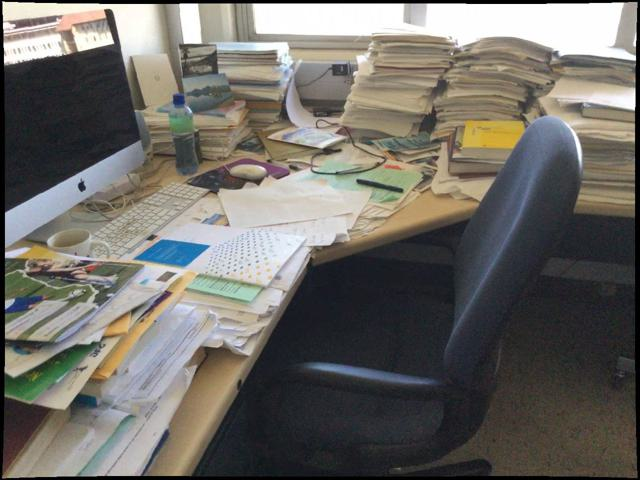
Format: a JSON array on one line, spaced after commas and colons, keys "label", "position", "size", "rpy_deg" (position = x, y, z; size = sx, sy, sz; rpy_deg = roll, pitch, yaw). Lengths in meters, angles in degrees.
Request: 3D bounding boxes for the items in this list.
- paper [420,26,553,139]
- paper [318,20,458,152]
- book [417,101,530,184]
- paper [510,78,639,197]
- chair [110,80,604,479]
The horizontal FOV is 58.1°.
[{"label": "paper", "position": [0.519, -0.511, 1.830], "size": [0.349, 0.281, 0.310], "rpy_deg": [6, 28, 14]}, {"label": "paper", "position": [0.239, -0.531, 1.920], "size": [0.379, 0.331, 0.440], "rpy_deg": [6, 28, 14]}, {"label": "book", "position": [0.439, -0.291, 1.640], "size": [0.269, 0.100, 0.410], "rpy_deg": [6, 28, 14]}, {"label": "paper", "position": [0.738, -0.291, 1.560], "size": [0.399, 0.200, 0.390], "rpy_deg": [6, 28, 14]}, {"label": "chair", "position": [0.110, 0.261, 1.290], "size": [0.668, 1.072, 0.650], "rpy_deg": [5, 28, 13]}]
